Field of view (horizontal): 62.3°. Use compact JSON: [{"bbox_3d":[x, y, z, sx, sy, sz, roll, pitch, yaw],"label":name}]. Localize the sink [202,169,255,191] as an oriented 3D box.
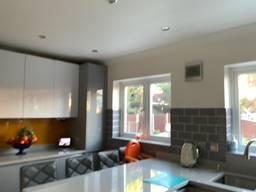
[{"bbox_3d":[1.000,0.890,1.980,0.400,0.230,0.540,-4,-6,43],"label":"sink"}]
